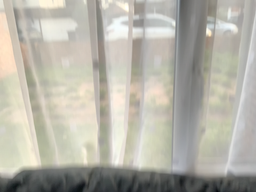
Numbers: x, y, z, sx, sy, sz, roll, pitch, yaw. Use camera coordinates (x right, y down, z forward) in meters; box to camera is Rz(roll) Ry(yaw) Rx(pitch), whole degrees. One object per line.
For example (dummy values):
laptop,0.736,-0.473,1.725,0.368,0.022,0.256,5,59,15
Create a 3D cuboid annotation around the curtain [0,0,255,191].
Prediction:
curtain,-0.440,-0.240,0.790,2.320,1.500,0.140,-2,19,2
